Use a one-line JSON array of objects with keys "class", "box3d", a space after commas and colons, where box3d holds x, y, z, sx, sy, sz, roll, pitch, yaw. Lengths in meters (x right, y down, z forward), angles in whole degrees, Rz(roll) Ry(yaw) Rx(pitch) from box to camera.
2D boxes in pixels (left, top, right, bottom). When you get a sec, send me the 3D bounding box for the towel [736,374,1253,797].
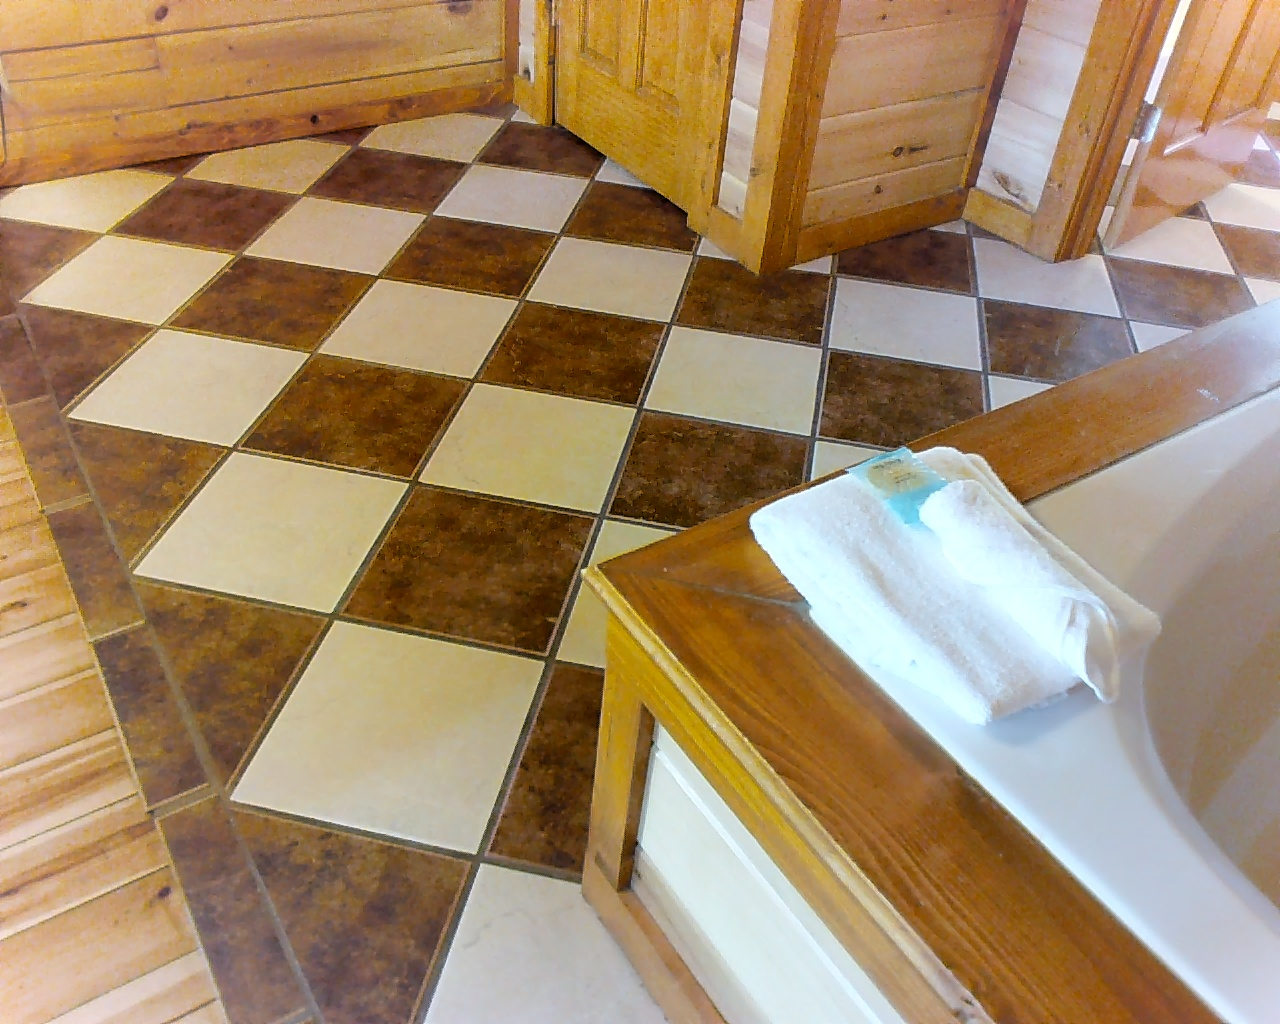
[{"class": "towel", "box3d": [0.290, 0.040, 0.930, 0.260, 0.110, 0.320, -21, 47, -27]}]
